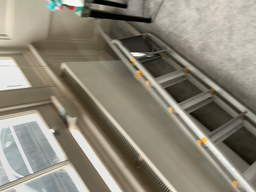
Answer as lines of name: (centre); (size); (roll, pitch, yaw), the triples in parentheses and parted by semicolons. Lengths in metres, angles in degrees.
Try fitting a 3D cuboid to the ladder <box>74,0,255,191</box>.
ladder: (0.420, 0.110, 1.190); (1.960, 0.440, 0.370); (48, 127, 27)
